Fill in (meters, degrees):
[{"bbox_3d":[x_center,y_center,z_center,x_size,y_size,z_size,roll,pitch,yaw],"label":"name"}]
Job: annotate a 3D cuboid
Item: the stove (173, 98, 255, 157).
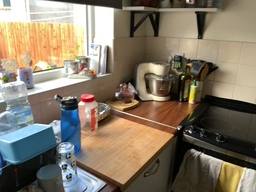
[{"bbox_3d":[0.710,0.180,1.340,0.640,0.030,0.640,14,23,30],"label":"stove"}]
